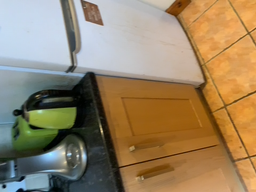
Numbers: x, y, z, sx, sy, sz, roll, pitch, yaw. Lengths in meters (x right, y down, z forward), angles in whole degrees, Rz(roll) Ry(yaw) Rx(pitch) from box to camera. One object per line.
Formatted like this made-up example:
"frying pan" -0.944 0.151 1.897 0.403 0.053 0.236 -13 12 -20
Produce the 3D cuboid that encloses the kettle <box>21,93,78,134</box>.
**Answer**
"kettle" -0.310 0.070 0.840 0.120 0.170 0.110 -39 60 42
